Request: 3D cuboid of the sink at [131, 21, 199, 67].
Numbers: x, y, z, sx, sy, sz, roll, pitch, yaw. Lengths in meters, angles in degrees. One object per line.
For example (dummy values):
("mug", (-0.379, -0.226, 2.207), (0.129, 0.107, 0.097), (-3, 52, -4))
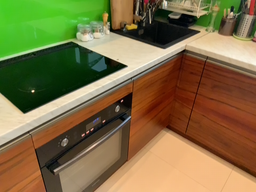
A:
("sink", (0.310, -0.460, 1.810), (0.420, 0.200, 0.360), (28, 41, 30))
